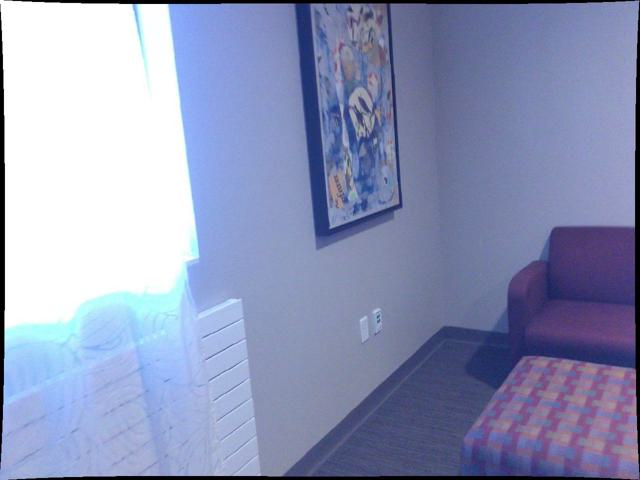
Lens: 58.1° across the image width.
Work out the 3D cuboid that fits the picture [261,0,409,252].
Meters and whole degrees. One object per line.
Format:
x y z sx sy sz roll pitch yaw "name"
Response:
0.120 -0.601 2.630 0.150 1.112 0.900 4 16 33 "picture"
